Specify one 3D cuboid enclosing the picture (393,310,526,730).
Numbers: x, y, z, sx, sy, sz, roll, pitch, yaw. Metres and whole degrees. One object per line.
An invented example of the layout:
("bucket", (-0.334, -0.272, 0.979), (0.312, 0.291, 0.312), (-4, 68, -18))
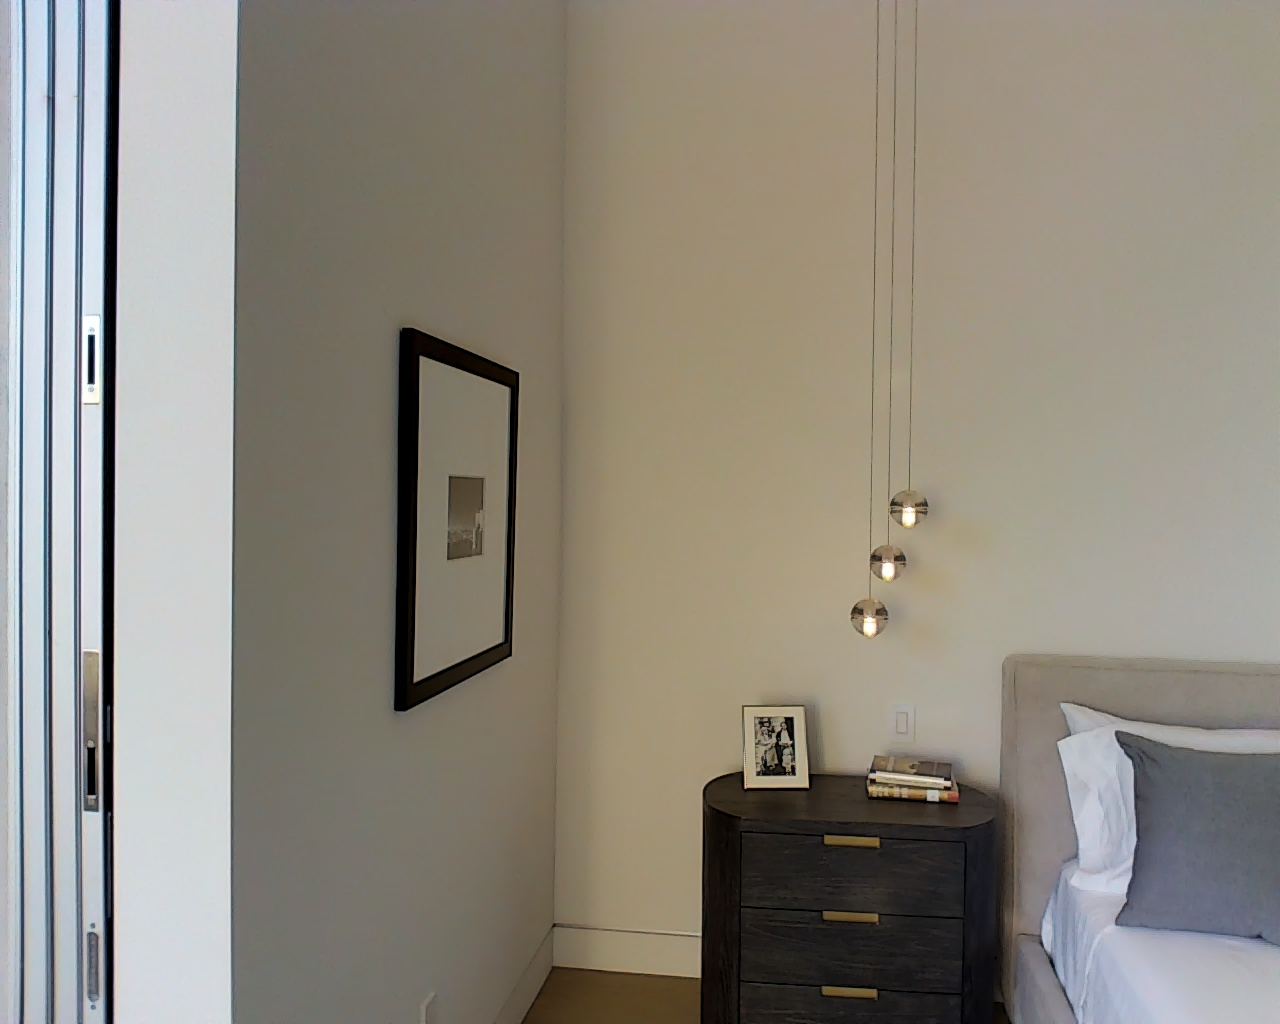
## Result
("picture", (-0.400, 0.010, 2.530), (0.040, 0.830, 0.810), (1, 1, 10))
